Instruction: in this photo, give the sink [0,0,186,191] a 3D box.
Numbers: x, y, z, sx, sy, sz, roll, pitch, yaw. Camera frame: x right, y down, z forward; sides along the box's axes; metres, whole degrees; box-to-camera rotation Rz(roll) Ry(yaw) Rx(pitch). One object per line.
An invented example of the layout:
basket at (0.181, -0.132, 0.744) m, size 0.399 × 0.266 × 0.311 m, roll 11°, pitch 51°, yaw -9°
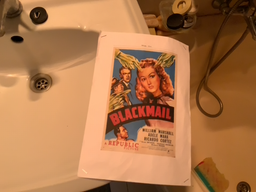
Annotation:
sink at (-0.240, -0.020, 0.510) m, size 0.600 × 0.220 × 0.490 m, roll -9°, pitch 75°, yaw -3°
